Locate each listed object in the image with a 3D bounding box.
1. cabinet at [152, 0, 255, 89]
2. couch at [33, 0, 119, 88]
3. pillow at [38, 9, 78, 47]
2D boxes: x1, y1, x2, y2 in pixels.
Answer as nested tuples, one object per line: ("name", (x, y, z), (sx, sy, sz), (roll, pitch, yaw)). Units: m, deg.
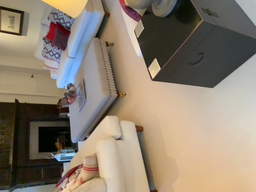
("cabinet", (0.580, -0.390, 1.450), (0.430, 0.580, 0.490), (-48, 47, 47))
("couch", (-1.190, -1.270, 4.180), (2.310, 0.960, 1.070), (-49, 46, 46))
("pillow", (-1.310, -1.270, 4.020), (0.530, 0.490, 0.230), (-20, 53, 12))
